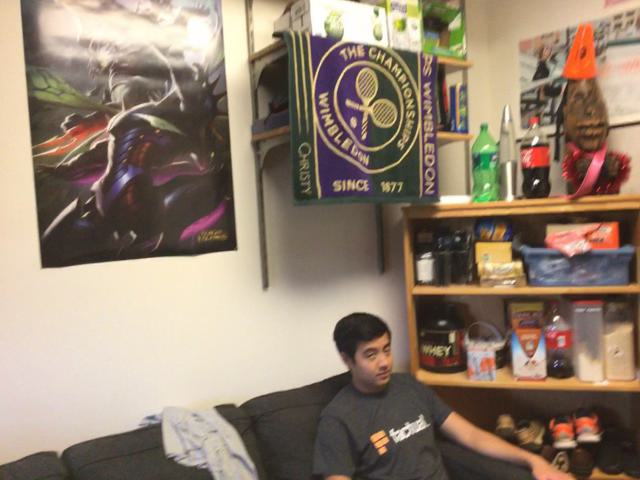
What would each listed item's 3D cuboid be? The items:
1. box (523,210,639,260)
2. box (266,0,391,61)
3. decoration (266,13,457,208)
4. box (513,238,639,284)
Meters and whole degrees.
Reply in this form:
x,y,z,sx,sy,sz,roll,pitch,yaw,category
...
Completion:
x,y,z,sx,sy,sz,roll,pitch,yaw,category
1.030,-0.020,2.280,0.400,0.170,0.290,-2,1,14,box
0.030,-0.820,2.190,0.360,0.160,0.300,-3,1,-35,box
0.180,-0.440,2.150,0.750,0.620,0.160,-3,1,-35,decoration
0.990,0.080,2.260,0.430,0.150,0.280,-2,1,16,box
